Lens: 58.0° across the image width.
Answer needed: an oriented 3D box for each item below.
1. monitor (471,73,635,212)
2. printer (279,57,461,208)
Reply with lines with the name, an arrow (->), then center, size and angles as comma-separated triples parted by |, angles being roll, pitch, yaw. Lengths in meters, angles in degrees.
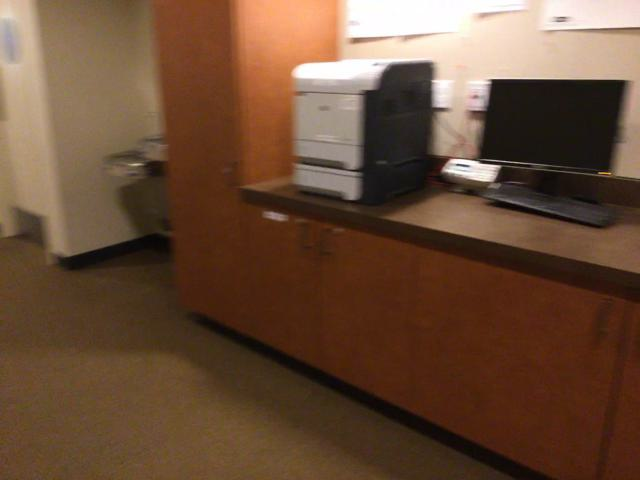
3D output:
monitor -> 0.780, -0.350, 1.990 | 0.450, 0.410, 0.140 | 17, 24, 39
printer -> 0.200, -0.470, 2.350 | 0.450, 0.510, 0.580 | 18, 24, 41
